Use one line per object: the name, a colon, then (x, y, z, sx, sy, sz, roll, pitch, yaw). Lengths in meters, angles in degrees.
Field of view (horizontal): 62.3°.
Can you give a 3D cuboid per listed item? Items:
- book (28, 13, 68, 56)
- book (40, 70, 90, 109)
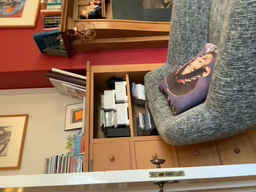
book: (-0.660, -0.520, 1.790, 0.160, 0.260, 0.320, 93, 173, -63)
book: (-0.510, -0.050, 1.790, 0.250, 0.350, 0.220, 93, 173, -63)
